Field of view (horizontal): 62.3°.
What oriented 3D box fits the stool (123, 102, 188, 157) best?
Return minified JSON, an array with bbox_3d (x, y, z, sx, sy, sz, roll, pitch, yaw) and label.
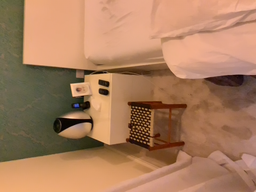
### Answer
[{"bbox_3d":[0.220,0.240,1.720,0.330,0.390,0.350,8,97,52],"label":"stool"}]
